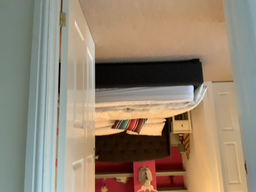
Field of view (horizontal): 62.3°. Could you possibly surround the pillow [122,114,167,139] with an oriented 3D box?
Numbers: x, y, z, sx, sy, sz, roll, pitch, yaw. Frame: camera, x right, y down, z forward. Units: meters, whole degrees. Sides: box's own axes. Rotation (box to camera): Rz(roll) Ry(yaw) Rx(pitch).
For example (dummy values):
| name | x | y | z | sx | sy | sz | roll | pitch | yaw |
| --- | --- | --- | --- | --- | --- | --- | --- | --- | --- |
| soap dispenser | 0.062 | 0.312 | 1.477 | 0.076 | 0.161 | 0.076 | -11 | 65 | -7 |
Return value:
| name | x | y | z | sx | sy | sz | roll | pitch | yaw |
| --- | --- | --- | --- | --- | --- | --- | --- | --- | --- |
| pillow | 0.300 | 0.610 | 4.130 | 0.770 | 0.550 | 0.200 | 2 | -132 | -8 |
